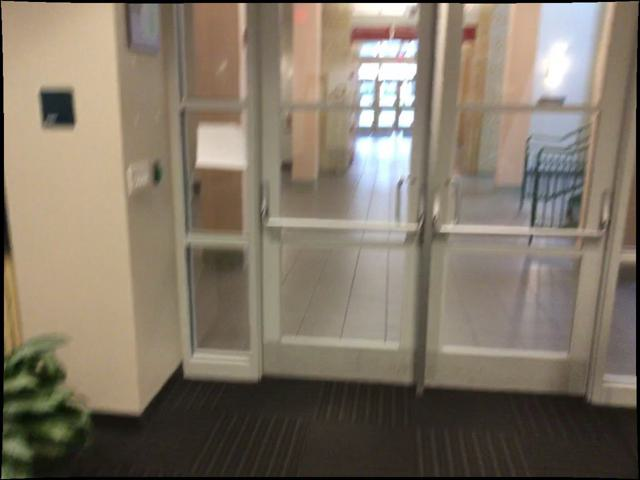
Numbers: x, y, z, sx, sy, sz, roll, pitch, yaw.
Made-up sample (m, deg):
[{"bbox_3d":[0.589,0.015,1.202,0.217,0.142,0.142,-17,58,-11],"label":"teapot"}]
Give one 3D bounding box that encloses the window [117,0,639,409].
[{"bbox_3d":[0.509,-0.662,2.760,2.674,2.836,0.670,1,18,9],"label":"window"}]
